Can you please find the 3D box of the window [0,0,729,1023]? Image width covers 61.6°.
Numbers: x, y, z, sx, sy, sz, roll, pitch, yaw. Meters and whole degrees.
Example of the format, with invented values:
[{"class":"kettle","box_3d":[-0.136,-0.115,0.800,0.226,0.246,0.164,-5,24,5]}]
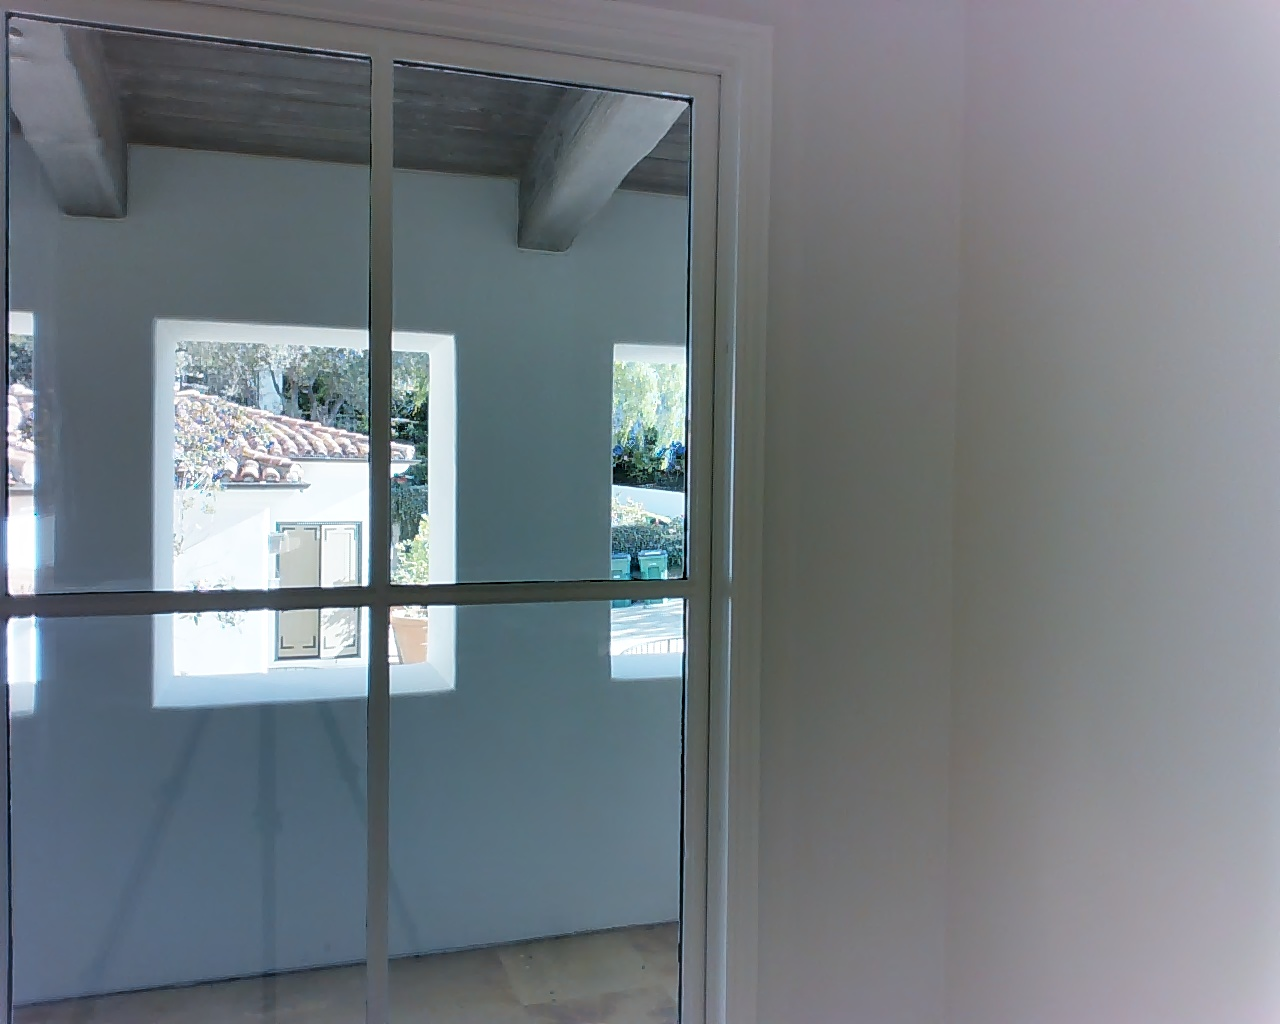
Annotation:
[{"class":"window","box_3d":[-0.280,0.110,1.200,0.790,1.240,0.070,0,1,-18]}]
